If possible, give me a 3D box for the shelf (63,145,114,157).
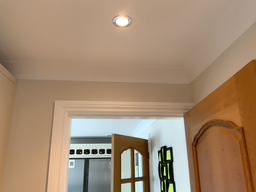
[{"bbox_3d":[-0.790,1.160,4.440,0.950,0.180,0.750,1,-18,-6],"label":"shelf"}]
